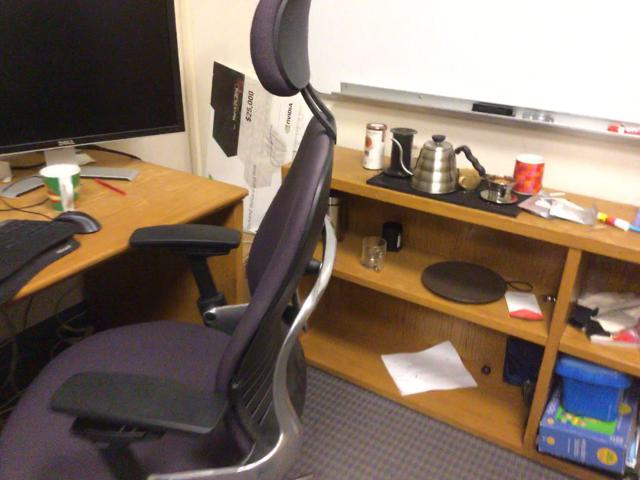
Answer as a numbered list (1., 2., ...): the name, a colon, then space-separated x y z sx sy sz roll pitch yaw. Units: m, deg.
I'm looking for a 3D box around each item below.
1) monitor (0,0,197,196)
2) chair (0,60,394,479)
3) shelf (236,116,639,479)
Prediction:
1. monitor: -0.710 -0.420 1.490 0.720 0.530 0.220 -13 28 -32
2. chair: -0.290 0.280 1.130 0.650 1.110 0.640 9 24 15
3. shelf: 0.670 0.220 1.650 1.950 0.810 0.410 15 26 27
